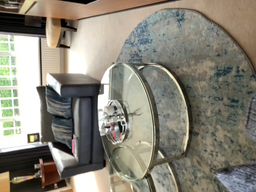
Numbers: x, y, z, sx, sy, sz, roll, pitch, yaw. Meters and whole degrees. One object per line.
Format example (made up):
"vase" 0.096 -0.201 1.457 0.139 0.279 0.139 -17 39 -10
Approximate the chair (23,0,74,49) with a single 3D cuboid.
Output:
"chair" -1.550 -1.500 4.060 0.740 0.750 0.880 -32 66 57

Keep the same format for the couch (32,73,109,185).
"couch" -0.910 0.350 3.160 1.120 0.790 1.240 24 114 57
